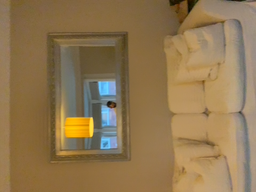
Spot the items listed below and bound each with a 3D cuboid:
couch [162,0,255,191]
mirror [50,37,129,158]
[{"bbox_3d":[0.840,0.160,2.210,0.960,0.750,2.160,87,-179,-87],"label":"couch"},{"bbox_3d":[-0.480,0.010,2.650,0.120,0.950,1.470,97,171,-86],"label":"mirror"}]
